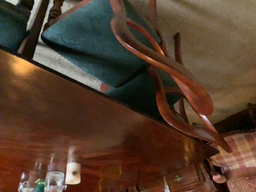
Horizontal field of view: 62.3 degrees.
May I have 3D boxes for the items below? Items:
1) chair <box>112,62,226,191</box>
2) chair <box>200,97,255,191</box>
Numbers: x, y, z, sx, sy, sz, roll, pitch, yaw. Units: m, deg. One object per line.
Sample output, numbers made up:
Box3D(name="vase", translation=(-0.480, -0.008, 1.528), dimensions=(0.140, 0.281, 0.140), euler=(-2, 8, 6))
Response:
Box3D(name="chair", translation=(0.260, 0.300, 1.680), dimensions=(0.520, 0.890, 0.500), euler=(27, 131, -36))
Box3D(name="chair", translation=(1.210, 0.740, 2.230), dimensions=(0.510, 1.130, 0.760), euler=(-16, 142, 12))
